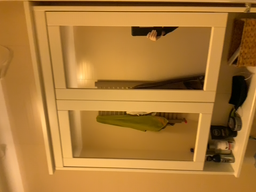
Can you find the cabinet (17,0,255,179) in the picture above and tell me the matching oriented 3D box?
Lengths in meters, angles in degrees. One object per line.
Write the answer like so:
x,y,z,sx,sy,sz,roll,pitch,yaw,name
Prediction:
0.080,-0.010,1.030,0.170,1.030,0.830,-85,-3,-69,cabinet
